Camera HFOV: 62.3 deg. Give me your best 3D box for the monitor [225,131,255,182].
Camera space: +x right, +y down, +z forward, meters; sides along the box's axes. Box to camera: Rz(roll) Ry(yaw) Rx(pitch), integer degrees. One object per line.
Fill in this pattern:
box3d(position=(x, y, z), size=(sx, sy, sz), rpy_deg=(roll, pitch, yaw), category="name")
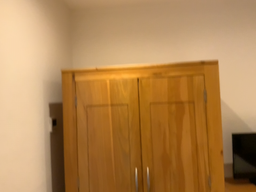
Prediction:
box3d(position=(1.010, 0.440, 1.560), size=(0.540, 0.360, 0.050), rpy_deg=(-2, -1, 3), category="monitor")
